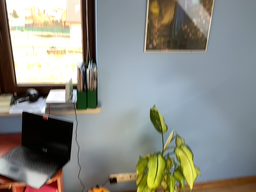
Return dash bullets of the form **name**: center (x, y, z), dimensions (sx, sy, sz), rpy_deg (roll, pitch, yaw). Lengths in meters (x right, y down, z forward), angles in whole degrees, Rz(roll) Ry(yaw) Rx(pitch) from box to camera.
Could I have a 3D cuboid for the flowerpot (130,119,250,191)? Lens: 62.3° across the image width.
- **flowerpot**: center (0.370, 0.700, 1.640), dimensions (0.600, 0.860, 0.590), rpy_deg (0, 20, -8)
